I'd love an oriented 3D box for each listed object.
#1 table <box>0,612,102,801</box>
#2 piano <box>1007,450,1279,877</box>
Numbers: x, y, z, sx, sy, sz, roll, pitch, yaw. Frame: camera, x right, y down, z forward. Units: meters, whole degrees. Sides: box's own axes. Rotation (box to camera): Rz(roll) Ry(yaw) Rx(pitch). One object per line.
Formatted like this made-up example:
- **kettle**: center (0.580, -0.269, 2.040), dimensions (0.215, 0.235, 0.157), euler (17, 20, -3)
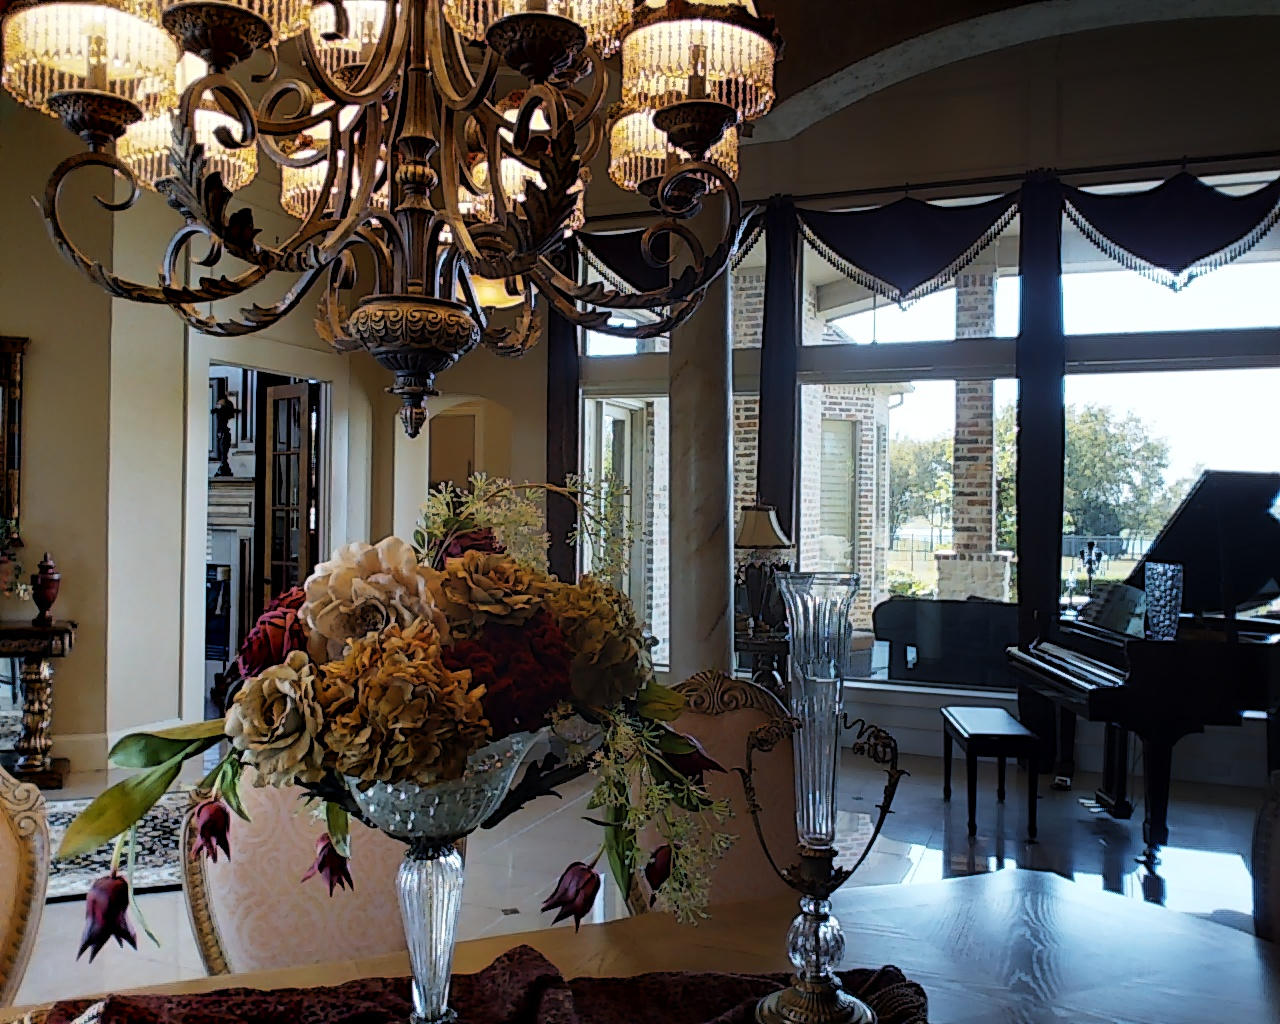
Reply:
- **table**: center (-3.629, 1.040, 5.750), dimensions (1.310, 0.940, 0.450), euler (1, 0, -23)
- **piano**: center (2.939, 0.670, 5.500), dimensions (1.679, 1.871, 1.580), euler (1, 0, 6)
